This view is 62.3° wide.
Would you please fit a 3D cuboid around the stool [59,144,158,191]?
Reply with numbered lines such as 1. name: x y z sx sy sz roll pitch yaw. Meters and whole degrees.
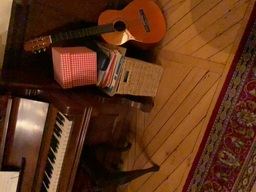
1. stool: -0.160 0.700 1.570 0.350 0.560 0.510 28 107 43
